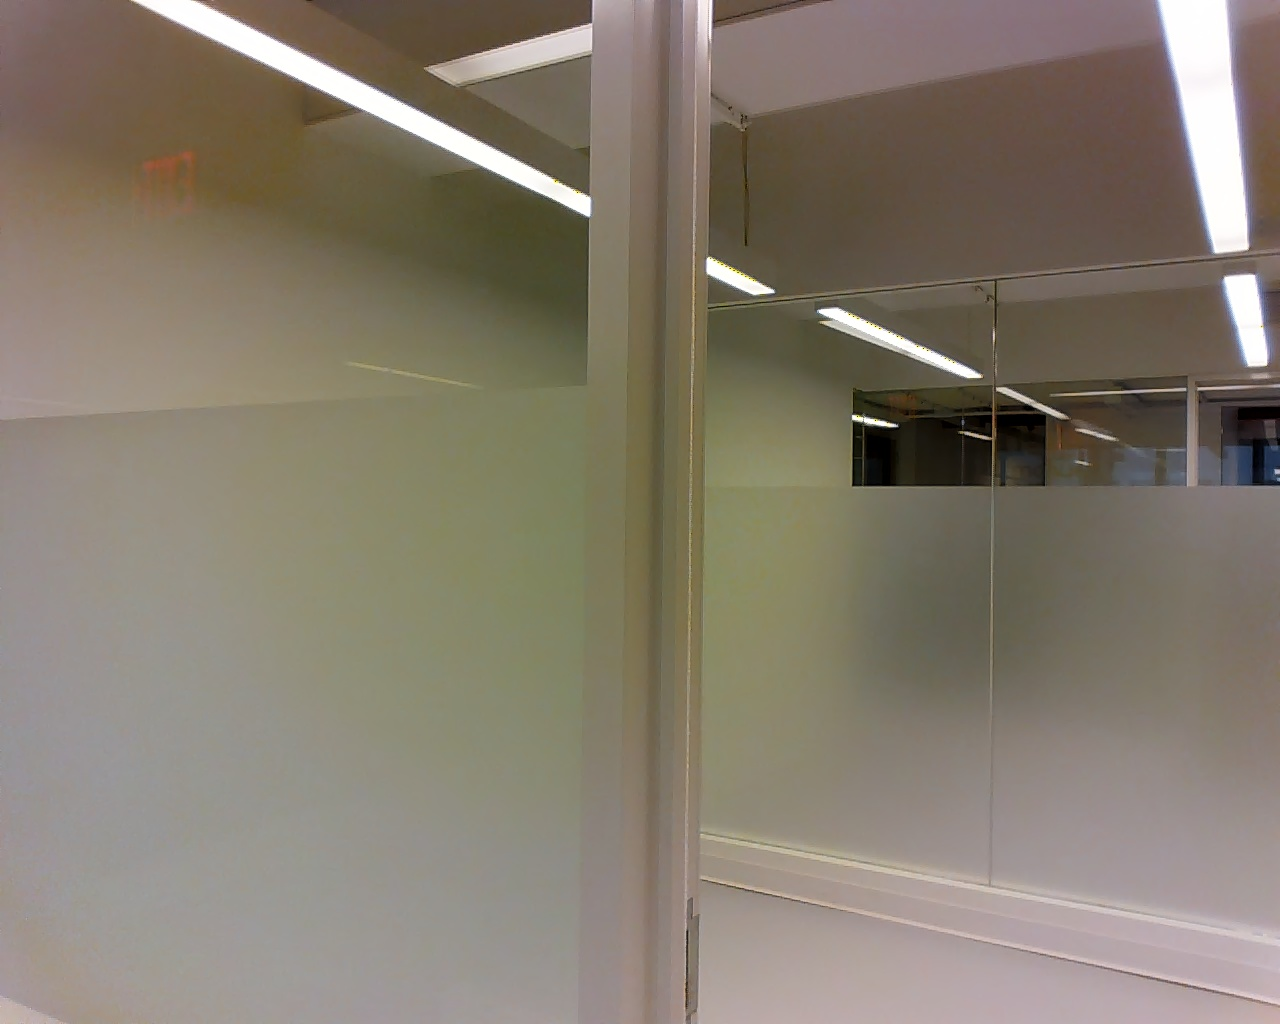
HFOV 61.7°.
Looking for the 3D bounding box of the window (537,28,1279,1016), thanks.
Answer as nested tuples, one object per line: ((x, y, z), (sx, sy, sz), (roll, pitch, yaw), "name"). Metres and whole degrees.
((1.070, 0.020, 3.720), (3.399, 2.931, 0.100), (0, 0, 30), "window")

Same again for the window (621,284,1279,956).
((1.200, 0.320, 3.750), (2.840, 2.020, 0.170), (0, 0, 30), "window")
